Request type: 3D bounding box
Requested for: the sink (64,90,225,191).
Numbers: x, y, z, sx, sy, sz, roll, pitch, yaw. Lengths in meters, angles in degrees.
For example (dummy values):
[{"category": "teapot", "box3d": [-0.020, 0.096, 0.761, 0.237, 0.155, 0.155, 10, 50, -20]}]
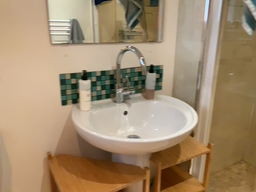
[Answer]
[{"category": "sink", "box3d": [0.050, 0.150, 0.970, 0.540, 0.180, 0.470, -9, 21, -30]}]
